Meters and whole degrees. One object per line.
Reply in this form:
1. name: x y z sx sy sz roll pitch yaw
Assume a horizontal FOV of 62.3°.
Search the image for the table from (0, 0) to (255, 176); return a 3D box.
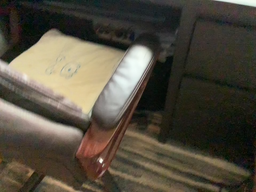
1. table: 0.180 -0.320 1.030 1.240 0.750 0.790 17 54 14
